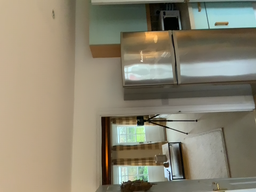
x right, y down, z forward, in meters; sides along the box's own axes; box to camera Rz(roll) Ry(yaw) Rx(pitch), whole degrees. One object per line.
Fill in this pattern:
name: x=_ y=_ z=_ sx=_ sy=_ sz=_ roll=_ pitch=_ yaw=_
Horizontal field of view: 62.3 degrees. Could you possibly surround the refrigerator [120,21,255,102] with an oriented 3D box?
refrigerator: x=0.750 y=-0.360 z=2.470 sx=0.730 sy=1.670 sz=0.640 roll=98 pitch=170 yaw=-73
